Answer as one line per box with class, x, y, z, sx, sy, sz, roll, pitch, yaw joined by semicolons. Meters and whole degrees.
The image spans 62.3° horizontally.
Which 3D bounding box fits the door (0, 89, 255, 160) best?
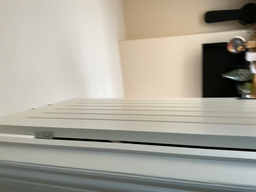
door;0.500;0.070;0.960;0.770;2.060;0.100;-31;-61;-71
